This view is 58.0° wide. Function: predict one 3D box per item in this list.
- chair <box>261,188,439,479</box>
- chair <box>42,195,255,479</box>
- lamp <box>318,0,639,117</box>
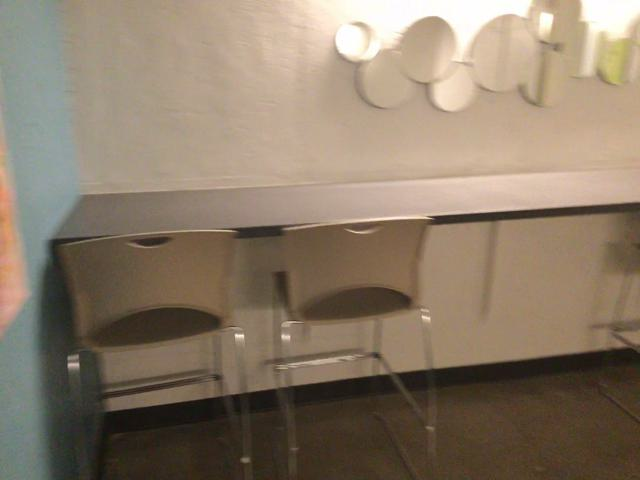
[{"bbox_3d":[0.090,0.340,2.090,0.500,0.960,0.440,-5,16,-12],"label":"chair"},{"bbox_3d":[-0.530,0.390,1.960,0.520,0.970,0.490,-5,16,-12],"label":"chair"},{"bbox_3d":[0.650,-0.820,2.230,1.320,0.620,0.080,-4,16,-10],"label":"lamp"}]
